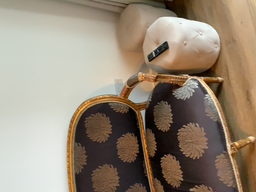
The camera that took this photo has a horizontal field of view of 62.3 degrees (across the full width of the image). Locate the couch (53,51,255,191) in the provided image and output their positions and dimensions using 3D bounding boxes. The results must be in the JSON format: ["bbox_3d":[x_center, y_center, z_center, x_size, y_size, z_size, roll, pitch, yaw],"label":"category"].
[{"bbox_3d":[0.220,0.650,1.360,0.850,1.010,1.570,-21,76,56],"label":"couch"}]

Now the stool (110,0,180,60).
[{"bbox_3d":[0.140,-0.560,1.870,0.330,0.450,0.370,-24,73,55],"label":"stool"}]

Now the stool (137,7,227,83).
[{"bbox_3d":[0.380,-0.330,1.540,0.360,0.450,0.380,-24,73,55],"label":"stool"}]
